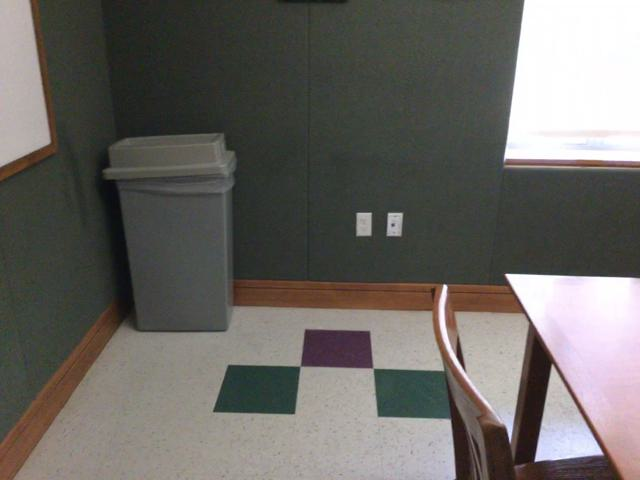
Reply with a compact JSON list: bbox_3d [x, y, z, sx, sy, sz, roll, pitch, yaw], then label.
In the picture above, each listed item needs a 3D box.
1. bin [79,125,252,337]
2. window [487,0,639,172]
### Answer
[{"bbox_3d":[-0.640,-0.040,2.570,0.570,0.870,0.350,0,21,3],"label":"bin"},{"bbox_3d":[1.490,-0.790,2.440,1.440,0.940,0.190,-1,22,0],"label":"window"}]
